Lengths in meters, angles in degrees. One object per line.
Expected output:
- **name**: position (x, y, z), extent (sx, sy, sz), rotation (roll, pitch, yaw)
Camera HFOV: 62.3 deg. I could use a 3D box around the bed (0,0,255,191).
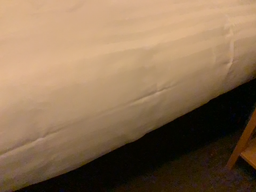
- **bed**: position (-0.350, -0.090, 0.900), extent (2.030, 0.700, 0.940), rotation (-16, 42, -23)
